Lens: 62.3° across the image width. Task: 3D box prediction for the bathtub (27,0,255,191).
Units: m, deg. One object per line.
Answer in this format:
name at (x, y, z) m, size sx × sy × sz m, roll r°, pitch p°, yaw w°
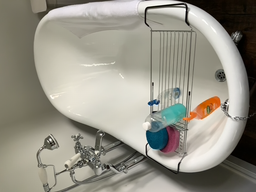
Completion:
bathtub at (0.020, -0.140, 1.340) m, size 1.510 × 0.720 × 0.740 m, roll 19°, pitch 118°, yaw 48°
